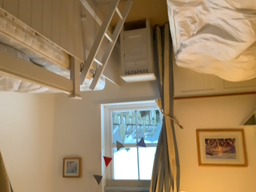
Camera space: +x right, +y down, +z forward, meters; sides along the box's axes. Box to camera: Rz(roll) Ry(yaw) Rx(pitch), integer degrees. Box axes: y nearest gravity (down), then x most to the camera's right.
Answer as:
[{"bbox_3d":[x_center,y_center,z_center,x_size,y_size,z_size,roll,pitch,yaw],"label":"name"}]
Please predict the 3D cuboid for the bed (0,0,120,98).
[{"bbox_3d":[-0.900,-0.580,1.920,1.020,0.830,2.390,-4,171,13],"label":"bed"}]
